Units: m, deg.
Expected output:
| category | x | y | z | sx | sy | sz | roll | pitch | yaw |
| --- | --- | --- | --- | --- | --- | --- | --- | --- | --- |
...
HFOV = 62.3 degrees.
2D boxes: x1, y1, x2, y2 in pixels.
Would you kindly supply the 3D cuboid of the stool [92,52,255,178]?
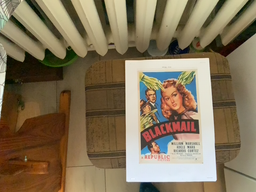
| category | x | y | z | sx | sy | sz | roll | pitch | yaw |
| --- | --- | --- | --- | --- | --- | --- | --- | --- | --- |
| stool | 0.120 | 0.070 | 0.730 | 0.400 | 0.450 | 0.300 | 0 | 82 | 1 |
